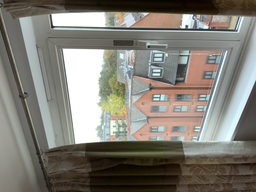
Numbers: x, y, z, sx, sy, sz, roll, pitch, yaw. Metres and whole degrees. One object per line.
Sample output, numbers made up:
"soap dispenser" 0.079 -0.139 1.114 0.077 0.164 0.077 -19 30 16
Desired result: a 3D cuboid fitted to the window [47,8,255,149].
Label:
"window" 0.150 -0.030 1.590 0.100 1.250 1.140 -96 8 -54
